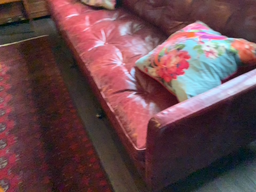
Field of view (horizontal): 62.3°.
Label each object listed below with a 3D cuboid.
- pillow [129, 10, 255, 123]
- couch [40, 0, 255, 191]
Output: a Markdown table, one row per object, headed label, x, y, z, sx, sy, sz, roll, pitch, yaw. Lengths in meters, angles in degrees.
| label | x | y | z | sx | sy | sz | roll | pitch | yaw |
| --- | --- | --- | --- | --- | --- | --- | --- | --- | --- |
| pillow | 0.290 | -0.170 | 1.000 | 0.410 | 0.260 | 0.400 | -24 | 46 | -23 |
| couch | -0.020 | -0.550 | 1.600 | 0.930 | 0.870 | 2.210 | -19 | 44 | -18 |
